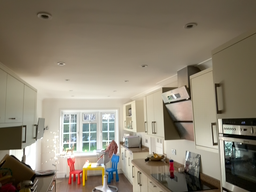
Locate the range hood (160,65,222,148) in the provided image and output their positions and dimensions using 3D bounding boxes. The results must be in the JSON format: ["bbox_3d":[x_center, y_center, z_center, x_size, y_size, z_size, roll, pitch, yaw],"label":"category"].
[{"bbox_3d":[0.790,0.150,2.810,0.490,0.950,0.670,1,-6,-13],"label":"range hood"}]
